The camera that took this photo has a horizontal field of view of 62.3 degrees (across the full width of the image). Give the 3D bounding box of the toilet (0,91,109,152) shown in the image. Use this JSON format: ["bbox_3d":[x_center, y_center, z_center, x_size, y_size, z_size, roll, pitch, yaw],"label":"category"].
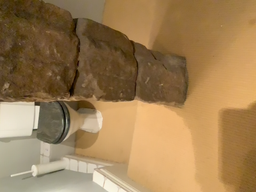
[{"bbox_3d":[-0.700,0.200,1.890,0.660,0.770,0.390,3,86,43],"label":"toilet"}]
